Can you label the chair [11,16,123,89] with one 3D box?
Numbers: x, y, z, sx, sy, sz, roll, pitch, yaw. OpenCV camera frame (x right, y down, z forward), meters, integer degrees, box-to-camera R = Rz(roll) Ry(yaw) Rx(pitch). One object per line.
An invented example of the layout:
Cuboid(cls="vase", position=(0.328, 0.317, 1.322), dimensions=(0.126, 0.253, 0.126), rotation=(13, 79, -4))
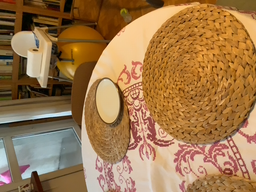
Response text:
Cuboid(cls="chair", position=(-0.600, -0.420, 2.080), dimensions=(0.560, 0.870, 0.420), rotation=(46, 128, 40))
